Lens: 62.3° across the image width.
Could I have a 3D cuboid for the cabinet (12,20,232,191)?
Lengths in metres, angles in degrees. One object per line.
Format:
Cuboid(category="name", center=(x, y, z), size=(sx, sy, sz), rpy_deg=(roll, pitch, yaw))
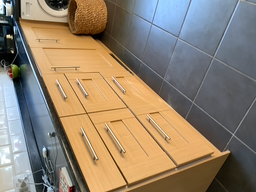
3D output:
Cuboid(category="cabinet", center=(-0.390, -0.010, 1.920), size=(2.250, 0.910, 0.600), rpy_deg=(48, 133, 43))
